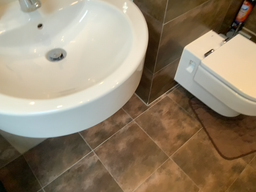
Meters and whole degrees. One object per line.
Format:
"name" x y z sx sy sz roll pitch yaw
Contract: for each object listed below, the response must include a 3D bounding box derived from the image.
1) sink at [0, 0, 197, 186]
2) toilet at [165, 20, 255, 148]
"sink" -0.180 -0.130 0.660 0.570 0.170 0.480 -34 62 -23
"toilet" 0.610 -0.080 1.330 0.390 0.430 0.560 -33 62 -23
